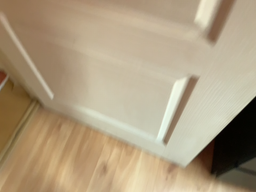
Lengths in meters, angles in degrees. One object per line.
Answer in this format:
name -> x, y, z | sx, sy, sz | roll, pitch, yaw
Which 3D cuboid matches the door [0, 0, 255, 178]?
door -> -0.110, -0.300, 0.210 | 0.800, 2.020, 0.090 | 20, 62, 12
